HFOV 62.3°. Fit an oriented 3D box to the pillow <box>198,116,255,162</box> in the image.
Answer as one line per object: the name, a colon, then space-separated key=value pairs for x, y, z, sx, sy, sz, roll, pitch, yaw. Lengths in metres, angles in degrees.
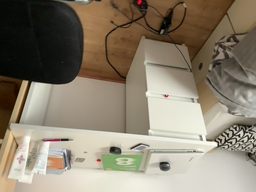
pillow: x=0.780 y=0.310 z=1.440 sx=0.420 sy=0.130 sz=0.410 roll=8 pitch=146 yaw=-13

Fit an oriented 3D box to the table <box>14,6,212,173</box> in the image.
table: x=-0.090 y=0.000 z=1.320 sx=0.870 sy=0.760 sz=0.510 roll=9 pitch=146 yaw=-14
